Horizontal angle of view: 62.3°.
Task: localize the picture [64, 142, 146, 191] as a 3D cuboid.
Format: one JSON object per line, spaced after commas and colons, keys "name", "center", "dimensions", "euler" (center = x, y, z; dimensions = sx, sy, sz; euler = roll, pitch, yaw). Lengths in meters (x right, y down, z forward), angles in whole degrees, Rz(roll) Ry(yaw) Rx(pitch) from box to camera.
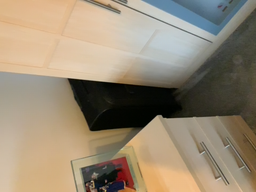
{"name": "picture", "center": [-0.080, 0.340, 0.790], "dimensions": [0.180, 0.180, 0.270], "euler": [-46, 56, 29]}
